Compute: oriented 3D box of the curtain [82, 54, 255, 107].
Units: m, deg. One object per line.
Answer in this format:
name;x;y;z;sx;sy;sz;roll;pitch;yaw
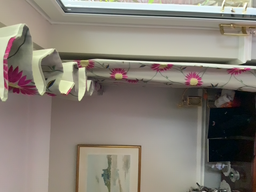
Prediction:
curtain;0.700;-0.060;1.450;0.640;1.890;0.240;155;117;-89
